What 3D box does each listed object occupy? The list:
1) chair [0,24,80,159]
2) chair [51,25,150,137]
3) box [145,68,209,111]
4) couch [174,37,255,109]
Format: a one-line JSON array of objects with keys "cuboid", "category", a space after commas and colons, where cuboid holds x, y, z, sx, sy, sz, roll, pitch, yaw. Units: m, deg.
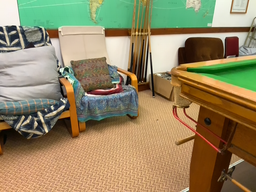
[{"cuboid": [-0.910, -0.130, 1.910, 0.670, 0.930, 0.790, -11, 25, -30], "category": "chair"}, {"cuboid": [-0.320, -0.240, 2.260, 0.710, 0.920, 0.780, -11, 25, -30], "category": "chair"}, {"cuboid": [0.660, -0.120, 2.980, 0.560, 0.360, 0.620, -9, 24, -26], "category": "box"}, {"cuboid": [1.330, -0.410, 3.090, 0.770, 0.760, 0.950, -9, 25, -27], "category": "couch"}]
